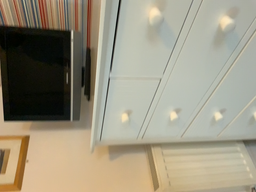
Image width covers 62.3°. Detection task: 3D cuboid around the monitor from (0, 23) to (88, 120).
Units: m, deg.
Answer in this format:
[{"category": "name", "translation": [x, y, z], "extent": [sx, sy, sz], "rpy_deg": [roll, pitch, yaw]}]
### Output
[{"category": "monitor", "translation": [-0.340, -0.090, 0.890], "extent": [0.050, 0.330, 0.380], "rpy_deg": [-132, 45, -71]}]
